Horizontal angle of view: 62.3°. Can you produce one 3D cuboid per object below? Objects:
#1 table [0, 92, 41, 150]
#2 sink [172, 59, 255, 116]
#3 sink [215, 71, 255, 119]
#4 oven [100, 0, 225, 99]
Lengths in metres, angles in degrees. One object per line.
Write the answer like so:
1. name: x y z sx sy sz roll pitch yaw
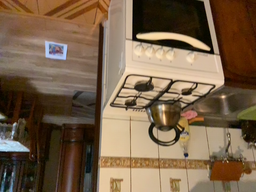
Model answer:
1. table: -2.380 0.440 3.620 1.490 0.770 0.930 6 158 -14
2. sink: 0.590 -0.030 1.450 0.390 0.190 0.440 6 158 -16
3. sink: 0.940 0.010 1.550 0.340 0.190 0.440 6 158 -16
4. oven: 0.150 -0.440 1.420 0.540 0.700 0.620 6 158 -16
